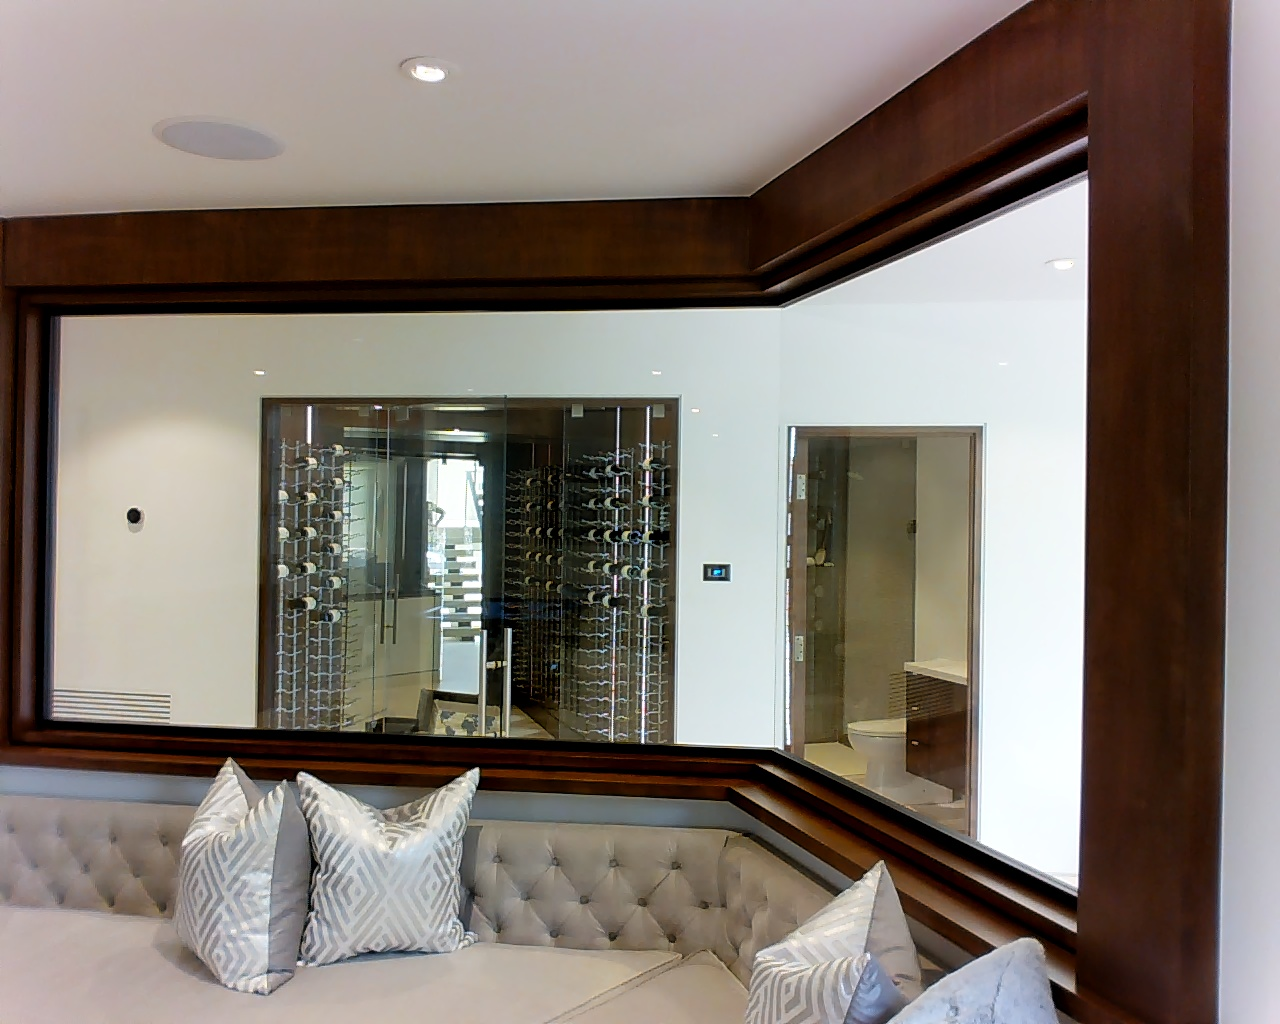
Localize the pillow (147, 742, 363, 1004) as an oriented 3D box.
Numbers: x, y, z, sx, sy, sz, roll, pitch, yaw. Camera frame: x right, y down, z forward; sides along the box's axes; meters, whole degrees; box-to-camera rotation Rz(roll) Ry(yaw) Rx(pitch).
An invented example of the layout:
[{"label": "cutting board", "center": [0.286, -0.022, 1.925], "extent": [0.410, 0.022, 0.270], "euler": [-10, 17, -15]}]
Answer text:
[{"label": "pillow", "center": [-1.070, 0.950, 2.960], "extent": [0.410, 0.490, 0.570], "euler": [1, 0, -36]}]

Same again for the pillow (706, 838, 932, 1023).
[{"label": "pillow", "center": [0.360, 0.960, 2.050], "extent": [0.370, 0.490, 0.530], "euler": [1, 0, 15]}]

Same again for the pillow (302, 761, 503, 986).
[{"label": "pillow", "center": [-0.670, 0.990, 3.020], "extent": [0.510, 0.480, 0.350], "euler": [1, 0, -16]}]
